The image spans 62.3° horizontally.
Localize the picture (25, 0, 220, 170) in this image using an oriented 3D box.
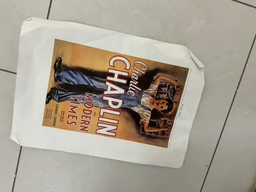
[{"bbox_3d":[-0.010,-0.010,0.340,0.260,0.010,0.220,15,99,-7],"label":"picture"}]
